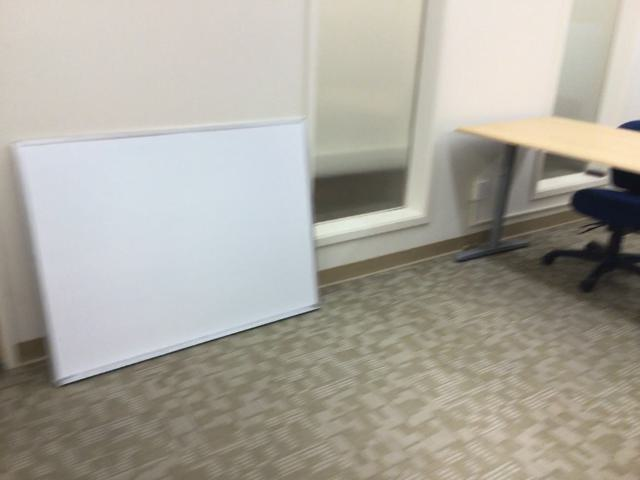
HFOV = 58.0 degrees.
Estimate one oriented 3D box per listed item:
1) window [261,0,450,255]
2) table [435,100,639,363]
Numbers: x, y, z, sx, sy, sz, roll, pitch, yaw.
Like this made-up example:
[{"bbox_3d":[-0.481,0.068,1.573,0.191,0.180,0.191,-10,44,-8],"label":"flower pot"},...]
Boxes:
[{"bbox_3d":[0.200,-0.760,2.730,0.840,1.470,0.290,-17,25,-29],"label":"window"},{"bbox_3d":[1.440,-0.100,2.680,0.910,0.810,1.620,-17,25,-29],"label":"table"}]
